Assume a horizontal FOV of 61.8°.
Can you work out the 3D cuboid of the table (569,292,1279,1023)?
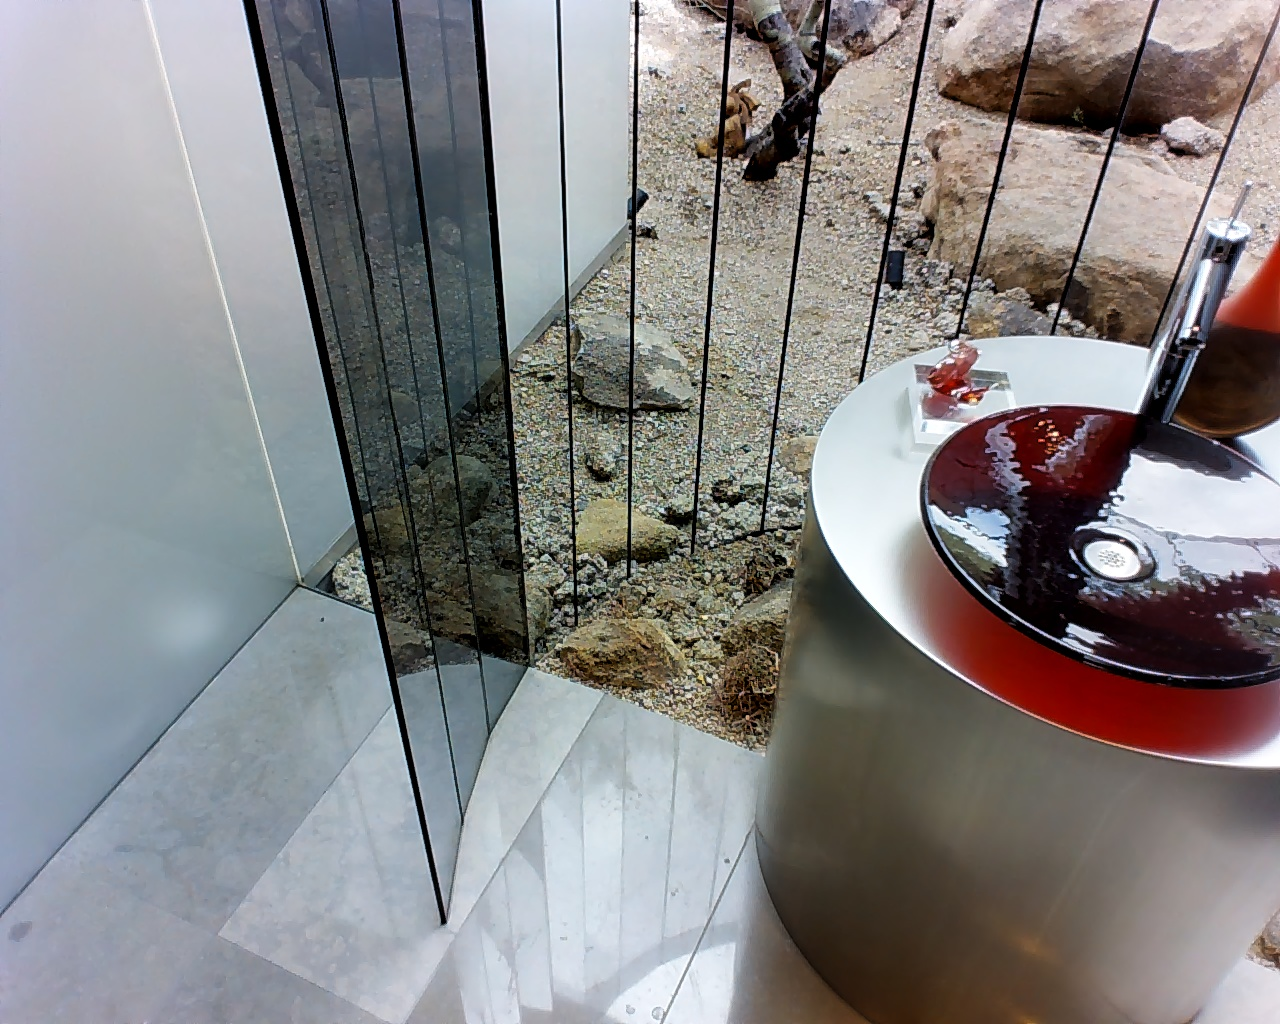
[{"bbox_3d":[0.440,0.320,1.480,0.930,0.920,0.460,20,46,20],"label":"table"}]
